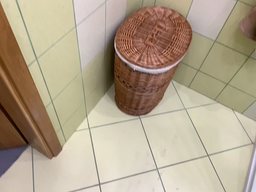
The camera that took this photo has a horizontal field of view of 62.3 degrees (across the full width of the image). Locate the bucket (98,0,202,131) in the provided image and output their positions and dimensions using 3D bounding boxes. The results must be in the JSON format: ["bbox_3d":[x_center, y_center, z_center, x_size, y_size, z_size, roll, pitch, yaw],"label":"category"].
[{"bbox_3d":[0.100,-0.170,1.300,0.360,0.580,0.450,29,57,12],"label":"bucket"}]
